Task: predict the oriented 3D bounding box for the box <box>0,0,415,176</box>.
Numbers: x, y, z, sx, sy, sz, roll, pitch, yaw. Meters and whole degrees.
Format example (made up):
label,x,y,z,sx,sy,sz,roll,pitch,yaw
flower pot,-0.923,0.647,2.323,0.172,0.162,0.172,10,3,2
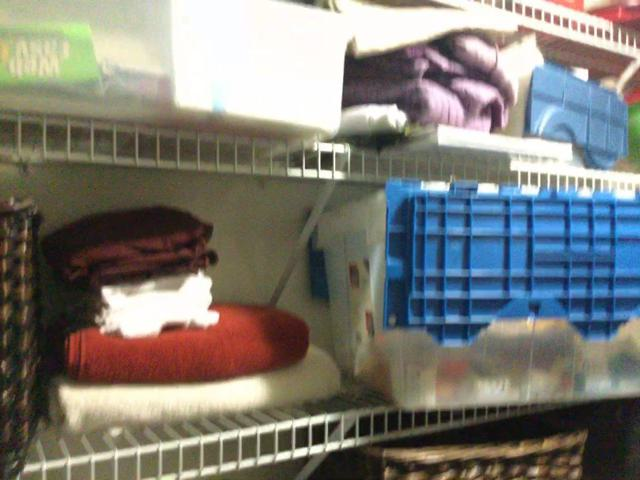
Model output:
label,x,y,z,sx,sy,sz,roll,pitch,yaw
box,-0.280,-0.280,0.800,0.770,0.290,0.320,1,-3,-28
